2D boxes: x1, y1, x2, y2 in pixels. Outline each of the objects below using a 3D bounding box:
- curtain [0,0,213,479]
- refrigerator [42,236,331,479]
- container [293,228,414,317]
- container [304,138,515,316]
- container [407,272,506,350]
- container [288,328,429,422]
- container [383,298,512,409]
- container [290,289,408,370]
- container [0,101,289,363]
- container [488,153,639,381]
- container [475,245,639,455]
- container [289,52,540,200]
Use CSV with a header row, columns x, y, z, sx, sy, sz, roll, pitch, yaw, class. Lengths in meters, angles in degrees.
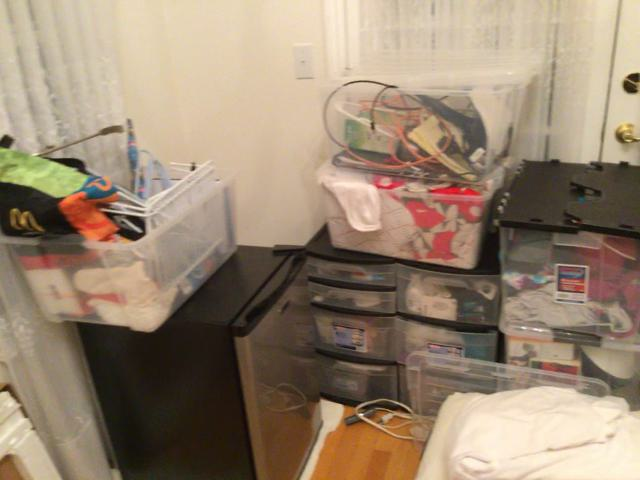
x,y,z,sx,sy,sz,roll,pitch,yaw,class
-0.660,0.060,1.680,0.180,1.420,0.710,3,22,19,curtain
-0.350,0.400,1.760,0.610,0.670,0.470,3,22,19,refrigerator
0.120,0.100,1.940,0.350,0.200,0.220,3,22,19,container
0.300,-0.070,1.830,0.570,0.430,0.390,3,22,19,container
0.430,0.220,1.830,0.290,0.190,0.110,3,22,19,container
0.140,0.470,2.050,0.470,0.220,0.150,3,22,19,container
0.420,0.360,1.890,0.380,0.230,0.220,3,22,19,container
0.100,0.300,1.970,0.380,0.220,0.090,3,22,19,container
-0.440,-0.070,1.510,0.500,0.480,0.570,3,22,19,container
0.720,0.030,1.630,0.420,0.420,0.600,3,22,19,container
0.740,0.290,1.760,0.460,0.340,0.570,3,22,19,container
0.310,-0.360,1.730,0.630,0.320,0.520,3,22,19,container
